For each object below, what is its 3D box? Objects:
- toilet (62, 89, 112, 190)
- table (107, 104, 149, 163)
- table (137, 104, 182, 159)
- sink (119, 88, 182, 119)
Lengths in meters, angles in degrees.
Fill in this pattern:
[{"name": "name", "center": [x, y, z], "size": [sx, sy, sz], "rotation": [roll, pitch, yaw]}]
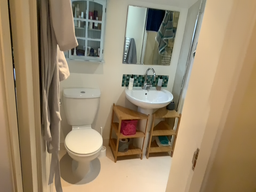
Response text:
[{"name": "toilet", "center": [-0.480, 0.410, 2.250], "size": [0.410, 0.770, 0.680], "rotation": [0, 22, -18]}, {"name": "table", "center": [-0.020, 0.440, 2.590], "size": [0.350, 0.590, 0.360], "rotation": [0, 22, -18]}, {"name": "table", "center": [0.380, 0.440, 2.730], "size": [0.370, 0.580, 0.350], "rotation": [0, 22, -18]}, {"name": "sink", "center": [0.240, 0.070, 2.460], "size": [0.590, 0.180, 0.450], "rotation": [0, 22, -18]}]
